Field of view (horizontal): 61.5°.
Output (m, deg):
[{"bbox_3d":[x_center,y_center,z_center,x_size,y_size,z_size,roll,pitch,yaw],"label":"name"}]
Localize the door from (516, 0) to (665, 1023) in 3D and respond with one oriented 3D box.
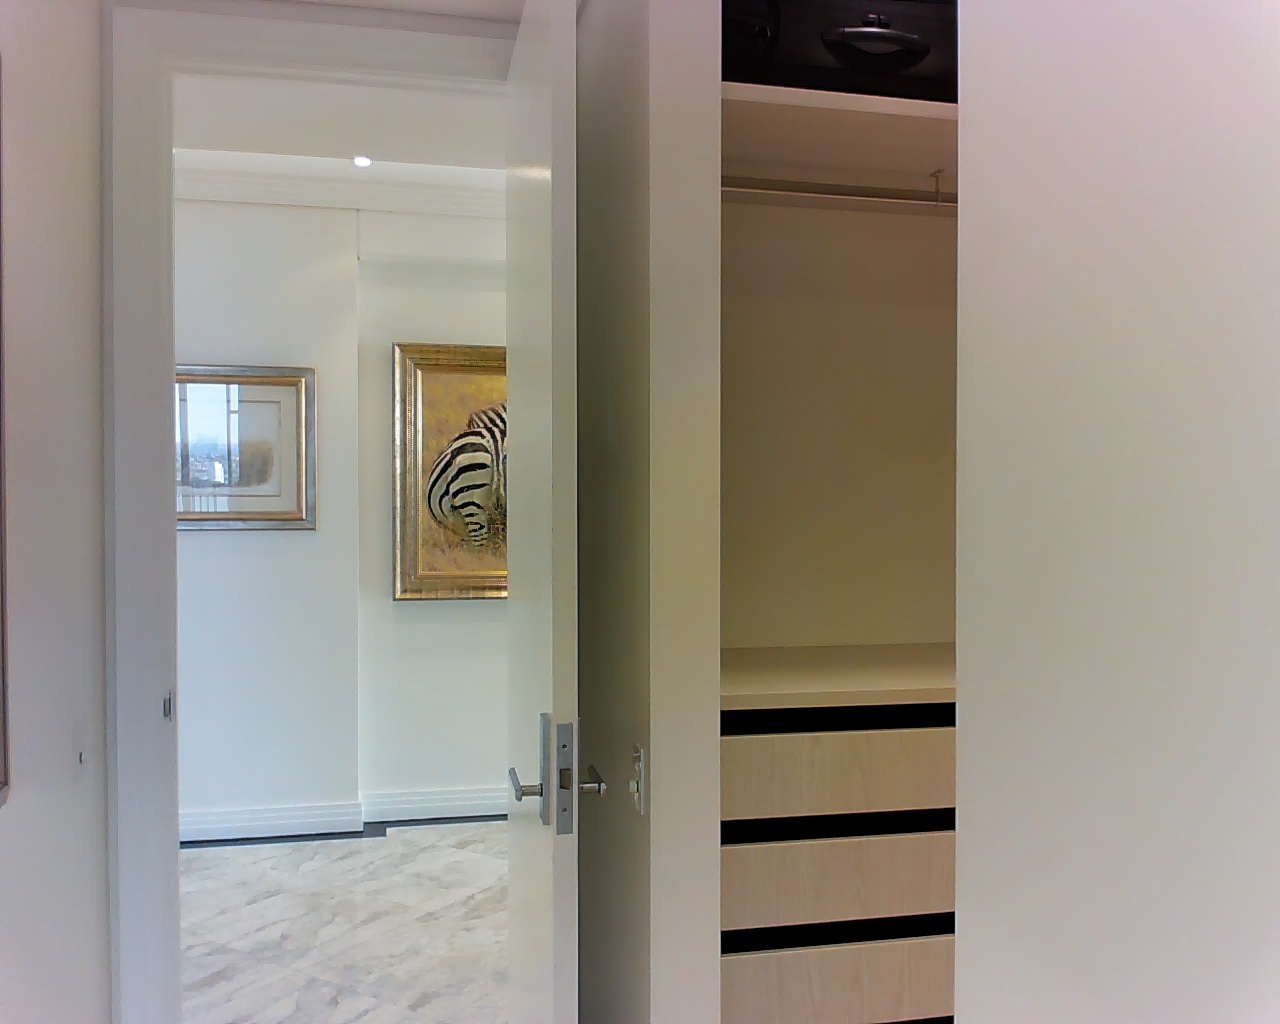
[{"bbox_3d":[-0.120,0.130,2.070,0.170,2.421,0.800,0,1,-11],"label":"door"}]
